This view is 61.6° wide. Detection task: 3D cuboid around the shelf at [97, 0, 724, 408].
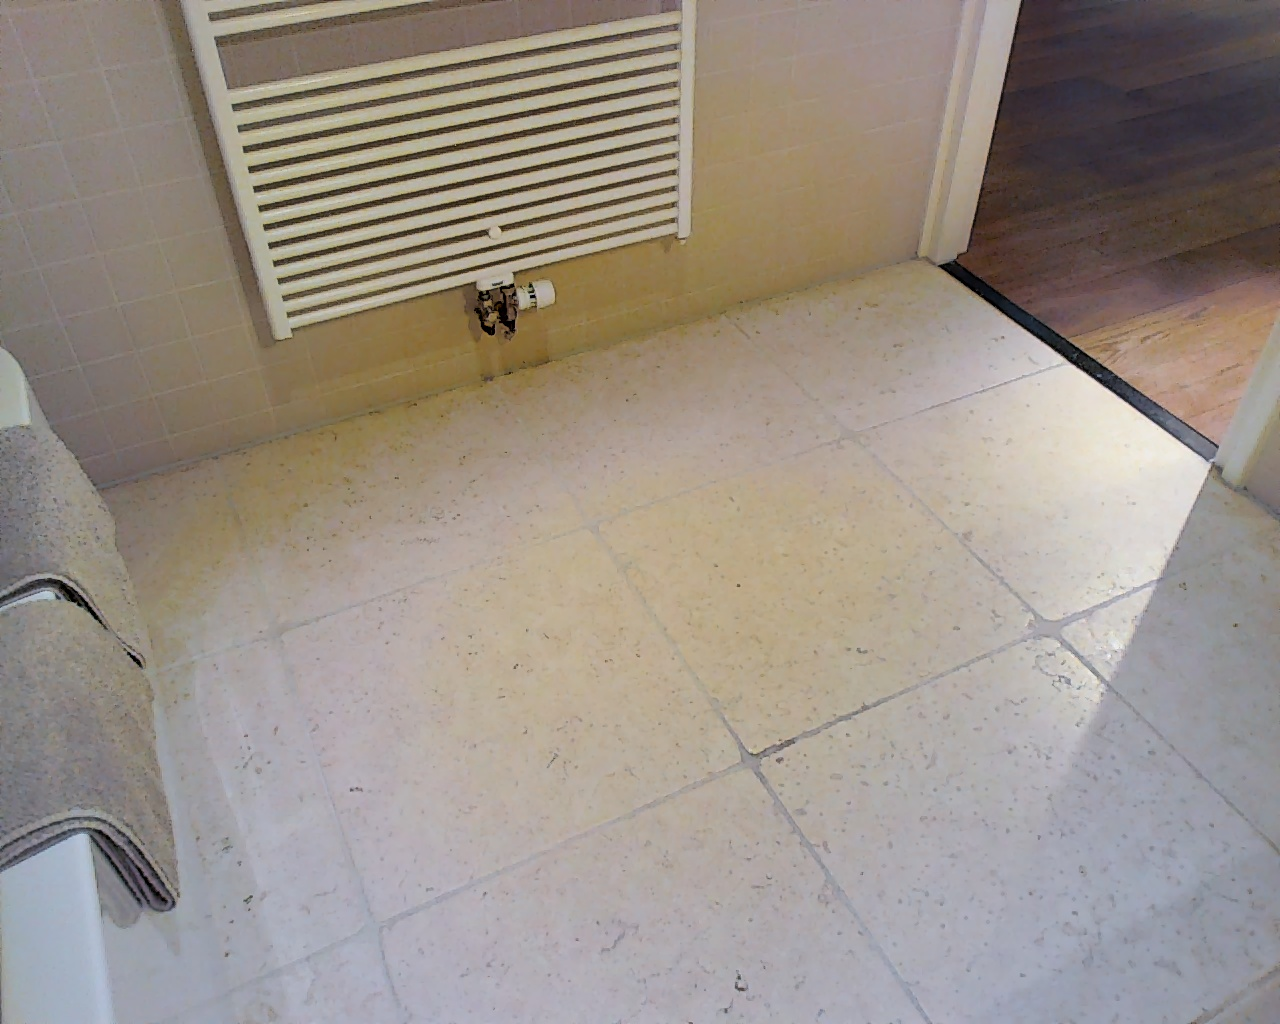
[{"bbox_3d":[-0.340,-0.680,2.080,1.100,0.780,0.060,-19,46,-19],"label":"shelf"}]
